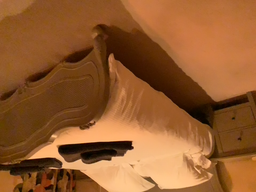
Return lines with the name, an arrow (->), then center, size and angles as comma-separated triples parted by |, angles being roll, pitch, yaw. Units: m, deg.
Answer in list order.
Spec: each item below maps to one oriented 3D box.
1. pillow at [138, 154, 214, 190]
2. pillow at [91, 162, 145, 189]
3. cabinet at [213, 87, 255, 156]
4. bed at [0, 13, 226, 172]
pillow -> 0.530, 0.860, 2.350 | 0.630, 0.280, 0.540 | -20, 151, 29
pillow -> -0.130, 1.020, 2.690 | 0.540, 0.260, 0.390 | -20, 151, 30
cabinet -> 1.320, 0.300, 2.350 | 0.480, 0.610, 0.400 | -20, 151, 31
bed -> -0.150, 0.380, 2.310 | 1.680, 0.600, 2.160 | -20, 151, 31
